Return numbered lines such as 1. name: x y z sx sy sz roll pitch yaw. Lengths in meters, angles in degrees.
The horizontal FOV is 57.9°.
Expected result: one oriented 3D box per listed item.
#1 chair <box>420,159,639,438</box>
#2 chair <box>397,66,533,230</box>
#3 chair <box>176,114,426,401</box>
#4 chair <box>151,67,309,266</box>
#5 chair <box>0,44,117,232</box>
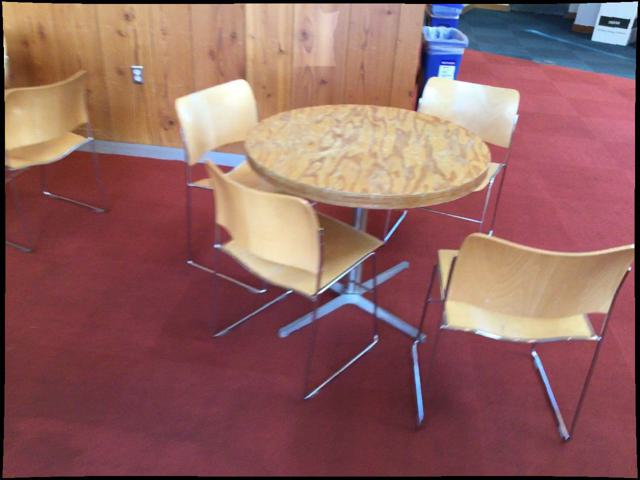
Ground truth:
1. chair: 0.629 0.170 1.850 0.519 0.650 0.510 7 32 5
2. chair: 0.719 -0.470 2.930 0.500 0.670 0.300 17 34 19
3. chair: -0.080 0.020 2.020 0.600 0.670 0.530 29 40 34
4. chair: -0.390 -0.350 2.630 0.450 0.680 0.490 22 36 27
5. chair: -1.369 -0.490 2.690 0.540 0.650 0.520 10 32 10
